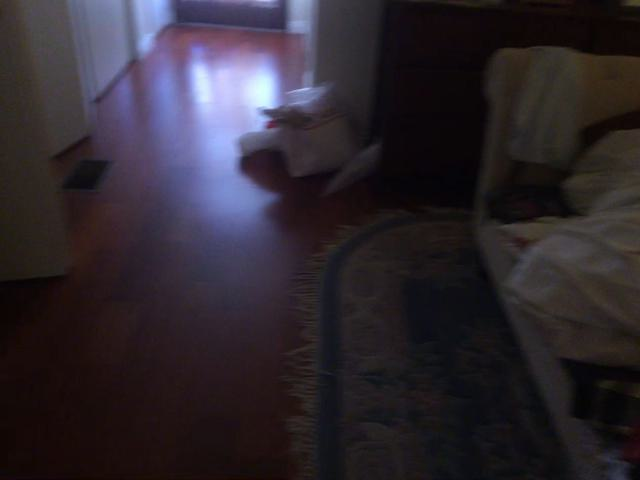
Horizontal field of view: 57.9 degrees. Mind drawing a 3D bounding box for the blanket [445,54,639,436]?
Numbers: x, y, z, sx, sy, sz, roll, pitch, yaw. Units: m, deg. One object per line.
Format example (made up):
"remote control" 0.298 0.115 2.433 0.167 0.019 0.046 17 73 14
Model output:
"blanket" 0.830 -0.070 1.390 0.790 0.470 0.950 2 31 -3
